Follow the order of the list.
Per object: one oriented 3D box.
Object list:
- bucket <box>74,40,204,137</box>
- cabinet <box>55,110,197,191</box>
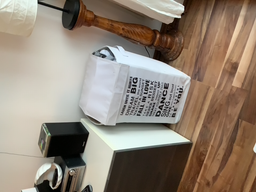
[{"bbox_3d":[0.080,-0.040,1.410,0.380,0.690,0.450,31,110,48],"label":"bucket"},{"bbox_3d":[-0.040,0.490,1.470,0.570,0.640,0.600,30,109,48],"label":"cabinet"}]
